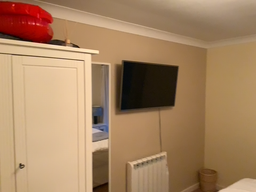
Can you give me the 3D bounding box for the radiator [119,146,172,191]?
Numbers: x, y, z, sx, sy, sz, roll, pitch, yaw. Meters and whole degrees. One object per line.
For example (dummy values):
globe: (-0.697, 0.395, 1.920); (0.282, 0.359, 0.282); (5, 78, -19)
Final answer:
radiator: (0.250, 1.030, 2.710); (0.810, 0.630, 0.090); (-2, 4, -36)
